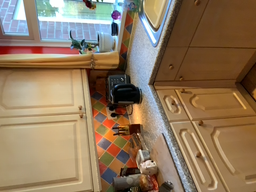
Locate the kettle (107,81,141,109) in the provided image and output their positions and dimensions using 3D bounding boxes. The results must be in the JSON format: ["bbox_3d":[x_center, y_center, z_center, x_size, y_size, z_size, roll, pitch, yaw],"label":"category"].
[{"bbox_3d":[-0.040,-0.010,1.710,0.130,0.230,0.170,105,157,-46],"label":"kettle"}]
